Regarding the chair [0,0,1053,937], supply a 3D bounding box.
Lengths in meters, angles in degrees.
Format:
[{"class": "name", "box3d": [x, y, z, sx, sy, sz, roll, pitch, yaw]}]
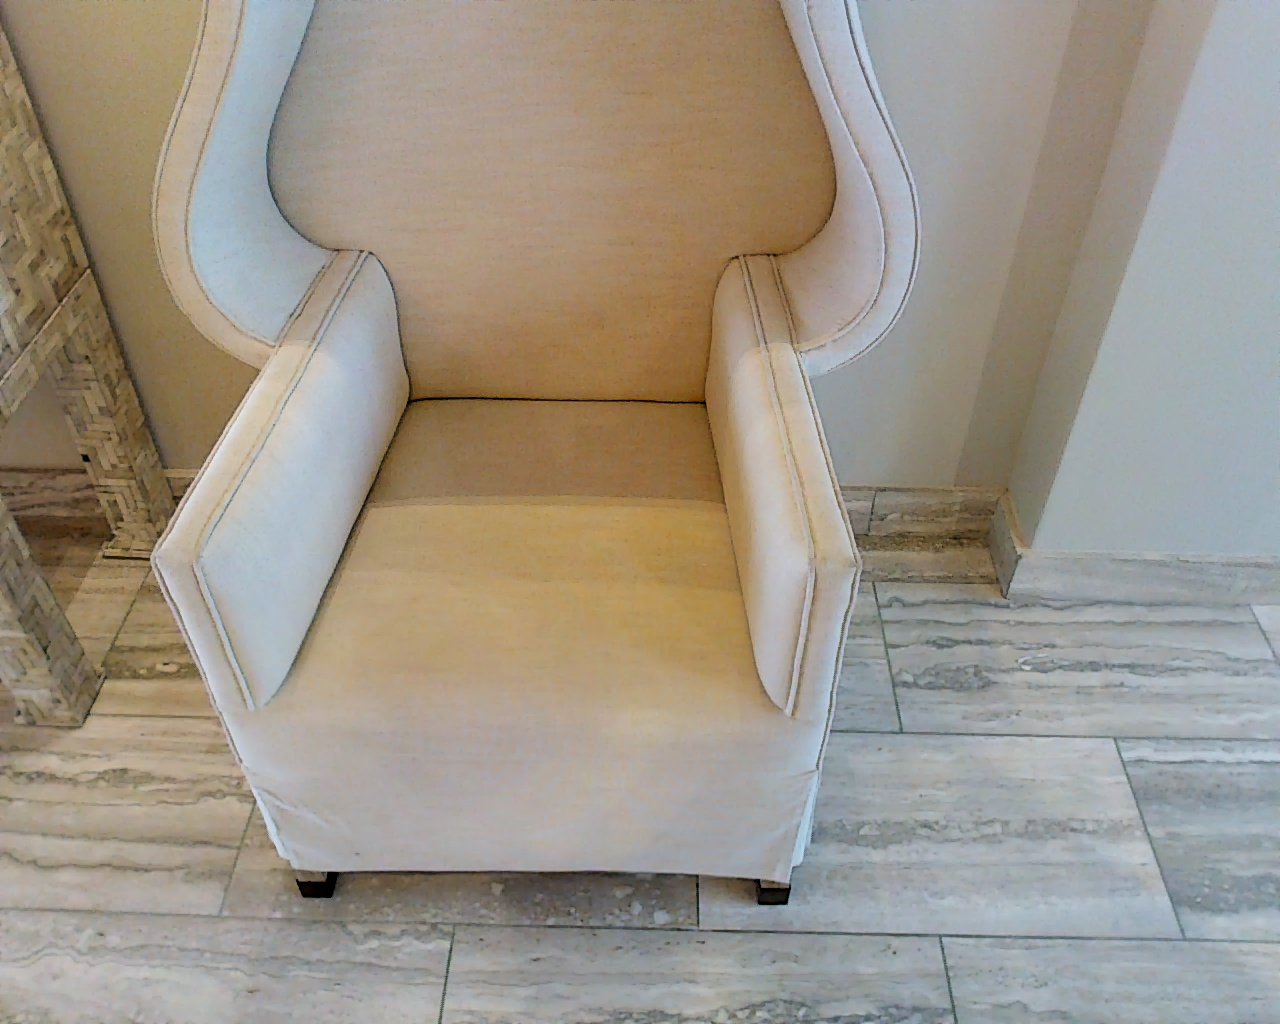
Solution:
[{"class": "chair", "box3d": [-0.150, -0.270, 1.150, 0.790, 1.480, 0.750, 1, 42, 1]}]
